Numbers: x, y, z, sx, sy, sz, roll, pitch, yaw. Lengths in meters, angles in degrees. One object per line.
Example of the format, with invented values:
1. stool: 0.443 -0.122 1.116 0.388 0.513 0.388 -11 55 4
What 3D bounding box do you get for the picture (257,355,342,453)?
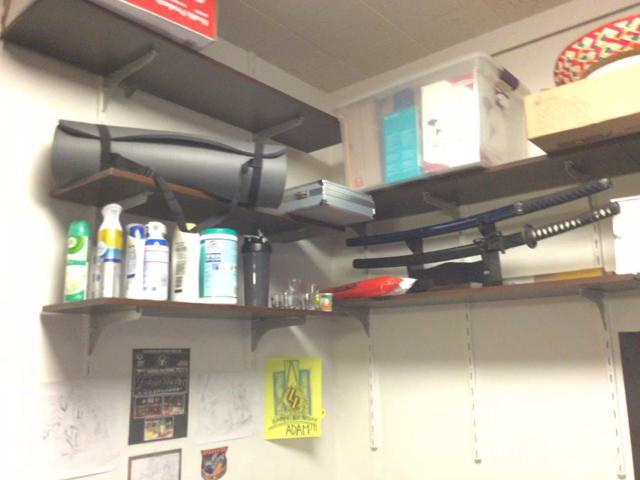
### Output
1. picture: -0.070 0.590 2.120 0.110 0.320 0.330 -12 -17 39
